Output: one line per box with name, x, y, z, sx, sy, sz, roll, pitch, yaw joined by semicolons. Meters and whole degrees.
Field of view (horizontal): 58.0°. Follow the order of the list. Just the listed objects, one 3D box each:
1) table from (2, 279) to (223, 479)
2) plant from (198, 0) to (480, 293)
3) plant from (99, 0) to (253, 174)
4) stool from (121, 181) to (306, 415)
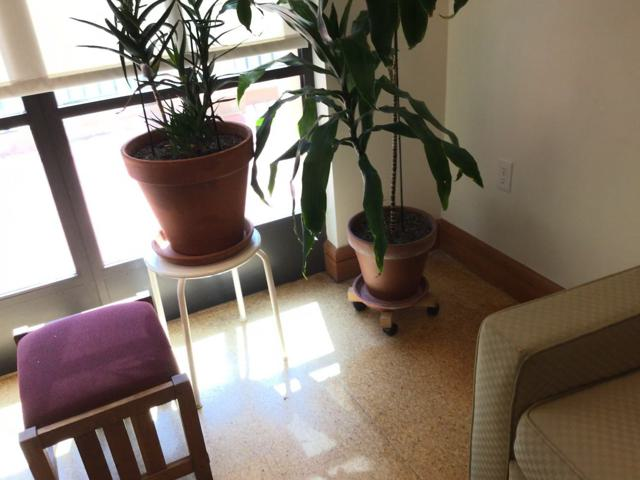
table;-0.570;0.440;1.570;0.420;0.390;0.510;-17;28;-22
plant;0.030;-0.370;1.760;0.490;0.690;0.750;-17;28;-22
plant;-0.400;-0.460;1.620;0.290;0.440;0.260;-17;28;-22
stool;-0.360;0.160;1.930;0.400;0.520;0.500;-17;28;-22
